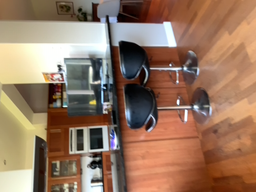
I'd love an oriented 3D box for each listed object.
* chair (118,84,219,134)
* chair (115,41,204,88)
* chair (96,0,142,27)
[{"bbox_3d":[0.360,0.120,2.120,0.510,0.840,0.410,164,104,-78],"label":"chair"},{"bbox_3d":[0.310,-0.320,2.320,0.490,0.820,0.390,164,104,-78],"label":"chair"},{"bbox_3d":[-0.220,-1.840,4.500,0.410,0.880,0.530,111,155,-61],"label":"chair"}]
